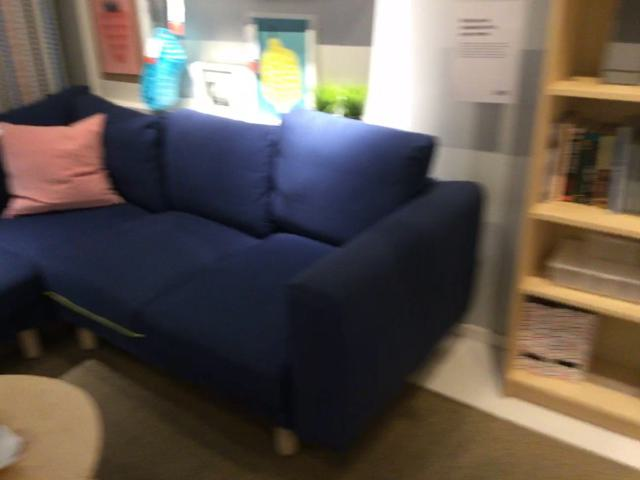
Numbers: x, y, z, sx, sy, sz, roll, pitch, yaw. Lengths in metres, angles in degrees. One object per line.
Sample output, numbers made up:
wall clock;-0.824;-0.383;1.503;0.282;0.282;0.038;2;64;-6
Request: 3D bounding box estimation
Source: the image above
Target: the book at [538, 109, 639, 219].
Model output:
book;0.990;-0.180;1.510;0.730;0.240;0.220;14;26;33
